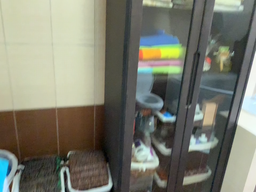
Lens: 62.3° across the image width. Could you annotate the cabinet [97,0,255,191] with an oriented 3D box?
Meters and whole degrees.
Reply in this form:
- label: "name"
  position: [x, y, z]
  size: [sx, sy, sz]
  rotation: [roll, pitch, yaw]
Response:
- label: "cabinet"
  position: [0.250, -0.070, 1.340]
  size: [0.790, 2.020, 0.470]
  rotation: [-3, 21, -18]
